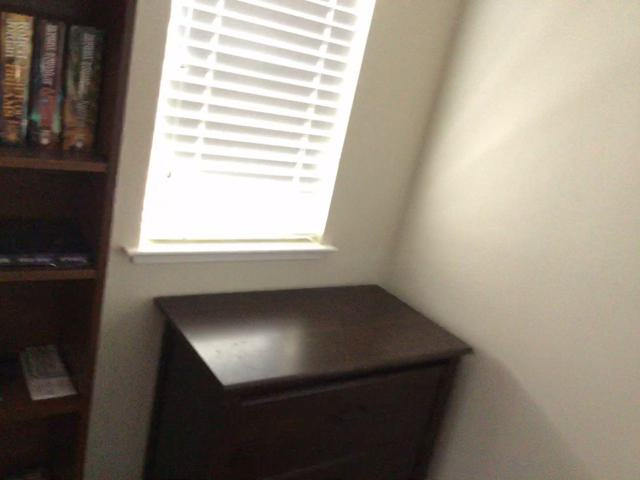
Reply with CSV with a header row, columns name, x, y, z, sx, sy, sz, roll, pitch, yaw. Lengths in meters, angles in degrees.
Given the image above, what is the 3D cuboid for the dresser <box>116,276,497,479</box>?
name,x,y,z,sx,sy,sz,roll,pitch,yaw
dresser,-0.120,0.800,1.780,0.840,1.230,0.550,5,15,-37

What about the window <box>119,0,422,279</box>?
name,x,y,z,sx,sy,sz,roll,pitch,yaw
window,-0.120,-0.340,1.620,0.690,0.890,0.130,5,15,-37
